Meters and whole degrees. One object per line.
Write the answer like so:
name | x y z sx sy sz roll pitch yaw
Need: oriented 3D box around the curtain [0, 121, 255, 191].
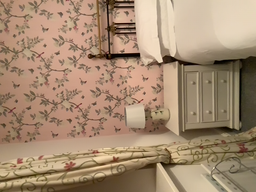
curtain | 0.050 0.380 1.430 0.590 2.030 0.100 -135 41 -78
